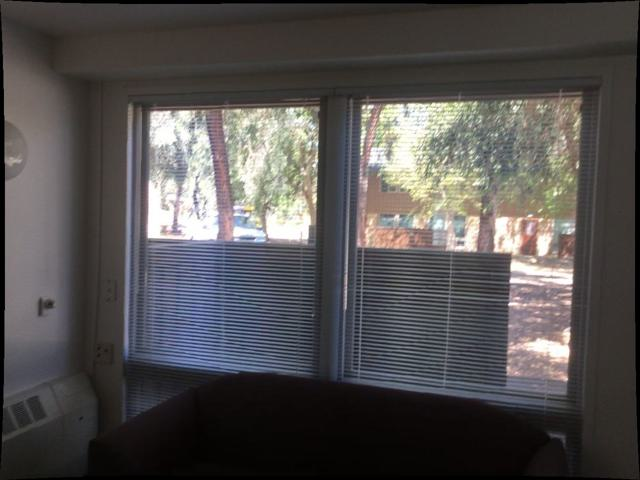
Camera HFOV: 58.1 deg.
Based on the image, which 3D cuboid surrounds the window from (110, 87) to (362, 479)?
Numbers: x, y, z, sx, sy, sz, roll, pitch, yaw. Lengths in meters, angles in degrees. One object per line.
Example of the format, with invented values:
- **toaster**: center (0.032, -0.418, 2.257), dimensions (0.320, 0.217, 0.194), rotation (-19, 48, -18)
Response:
- **window**: center (-0.469, 0.260, 3.110), dimensions (1.278, 2.013, 0.380), rotation (3, 6, 20)

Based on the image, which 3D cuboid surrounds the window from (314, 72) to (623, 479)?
- **window**: center (0.639, 0.250, 2.730), dimensions (1.258, 1.923, 0.340), rotation (3, 6, 20)
